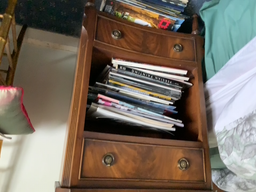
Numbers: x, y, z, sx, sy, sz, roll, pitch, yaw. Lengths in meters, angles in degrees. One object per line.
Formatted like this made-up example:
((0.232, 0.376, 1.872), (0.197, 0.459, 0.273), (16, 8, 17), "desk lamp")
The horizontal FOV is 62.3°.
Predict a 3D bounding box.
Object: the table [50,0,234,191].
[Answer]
((0.030, 0.000, 0.870), (0.540, 0.700, 0.380), (7, 161, -14), "table")
